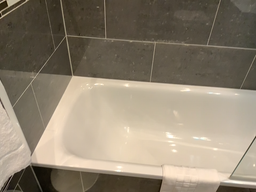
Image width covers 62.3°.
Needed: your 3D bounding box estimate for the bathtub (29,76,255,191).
[{"bbox_3d":[0.410,0.360,1.350,1.670,0.560,0.680,5,39,2],"label":"bathtub"}]
